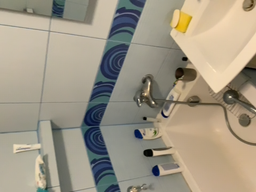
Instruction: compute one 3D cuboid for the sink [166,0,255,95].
[{"bbox_3d":[0.430,-0.360,0.840,0.430,0.140,0.570,63,141,39],"label":"sink"}]
